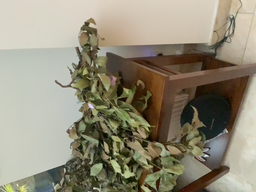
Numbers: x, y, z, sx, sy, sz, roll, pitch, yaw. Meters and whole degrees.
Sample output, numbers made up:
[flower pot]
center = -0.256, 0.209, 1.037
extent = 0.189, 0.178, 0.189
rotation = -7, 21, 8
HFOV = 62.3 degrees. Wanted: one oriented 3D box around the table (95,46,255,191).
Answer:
[table]
center = 0.260, 0.160, 1.130
extent = 0.380, 0.740, 0.750
rotation = 33, 125, 46
